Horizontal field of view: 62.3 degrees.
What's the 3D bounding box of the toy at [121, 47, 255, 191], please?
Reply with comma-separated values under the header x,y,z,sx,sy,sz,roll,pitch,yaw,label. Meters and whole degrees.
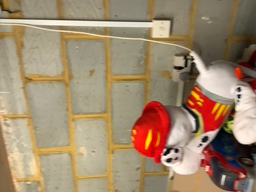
x,y,z,sx,sy,sz,roll,pitch,yaw,label
0.340,0.130,0.990,0.640,0.680,0.620,-110,20,-69,toy
